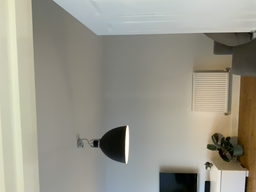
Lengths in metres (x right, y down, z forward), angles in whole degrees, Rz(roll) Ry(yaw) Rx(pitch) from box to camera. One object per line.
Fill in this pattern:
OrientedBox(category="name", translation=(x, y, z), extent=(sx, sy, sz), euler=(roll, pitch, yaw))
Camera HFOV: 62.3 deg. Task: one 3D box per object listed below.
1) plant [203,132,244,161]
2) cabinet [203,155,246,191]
OrientedBox(category="plant", translation=(1.610, 0.850, 3.630), extent=(0.430, 0.510, 0.380), euler=(-50, -40, -85))
OrientedBox(category="cabinet", translation=(1.640, 2.010, 3.730), extent=(0.520, 0.500, 1.800), euler=(-62, -29, -83))
